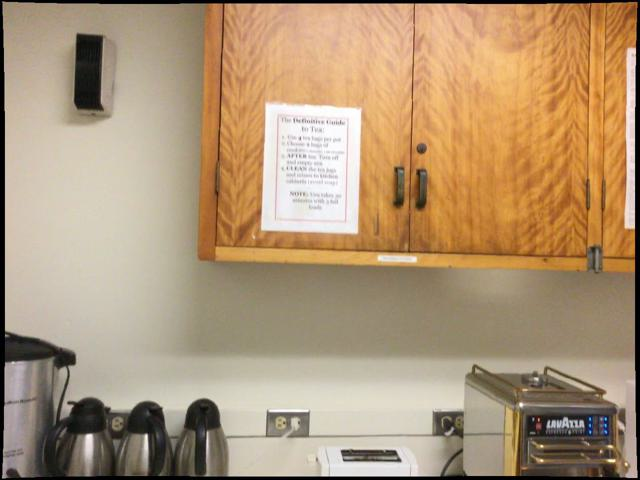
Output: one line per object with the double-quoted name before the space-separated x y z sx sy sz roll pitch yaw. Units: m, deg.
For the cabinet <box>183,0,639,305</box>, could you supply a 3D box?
"cabinet" 0.638 -0.381 1.580 1.935 1.043 0.410 0 -1 -6
